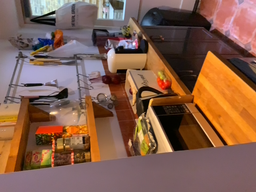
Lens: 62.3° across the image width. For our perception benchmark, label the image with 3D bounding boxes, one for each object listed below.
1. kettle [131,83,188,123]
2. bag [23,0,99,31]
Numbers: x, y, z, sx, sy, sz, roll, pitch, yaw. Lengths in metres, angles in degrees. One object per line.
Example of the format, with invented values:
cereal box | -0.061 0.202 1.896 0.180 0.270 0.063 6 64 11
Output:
kettle | 0.180 0.040 1.280 0.160 0.280 0.160 -108 21 -46
bag | -0.690 -0.880 2.260 0.170 0.730 0.290 -110 23 -48
